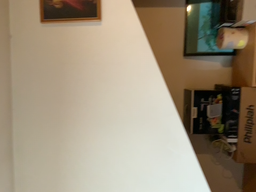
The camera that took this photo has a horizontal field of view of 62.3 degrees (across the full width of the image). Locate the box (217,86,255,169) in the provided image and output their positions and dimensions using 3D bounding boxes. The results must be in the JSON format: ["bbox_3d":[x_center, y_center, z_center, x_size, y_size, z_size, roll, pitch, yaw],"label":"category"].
[{"bbox_3d":[0.960,0.240,1.790,0.370,0.240,0.610,-68,-21,-82],"label":"box"}]
